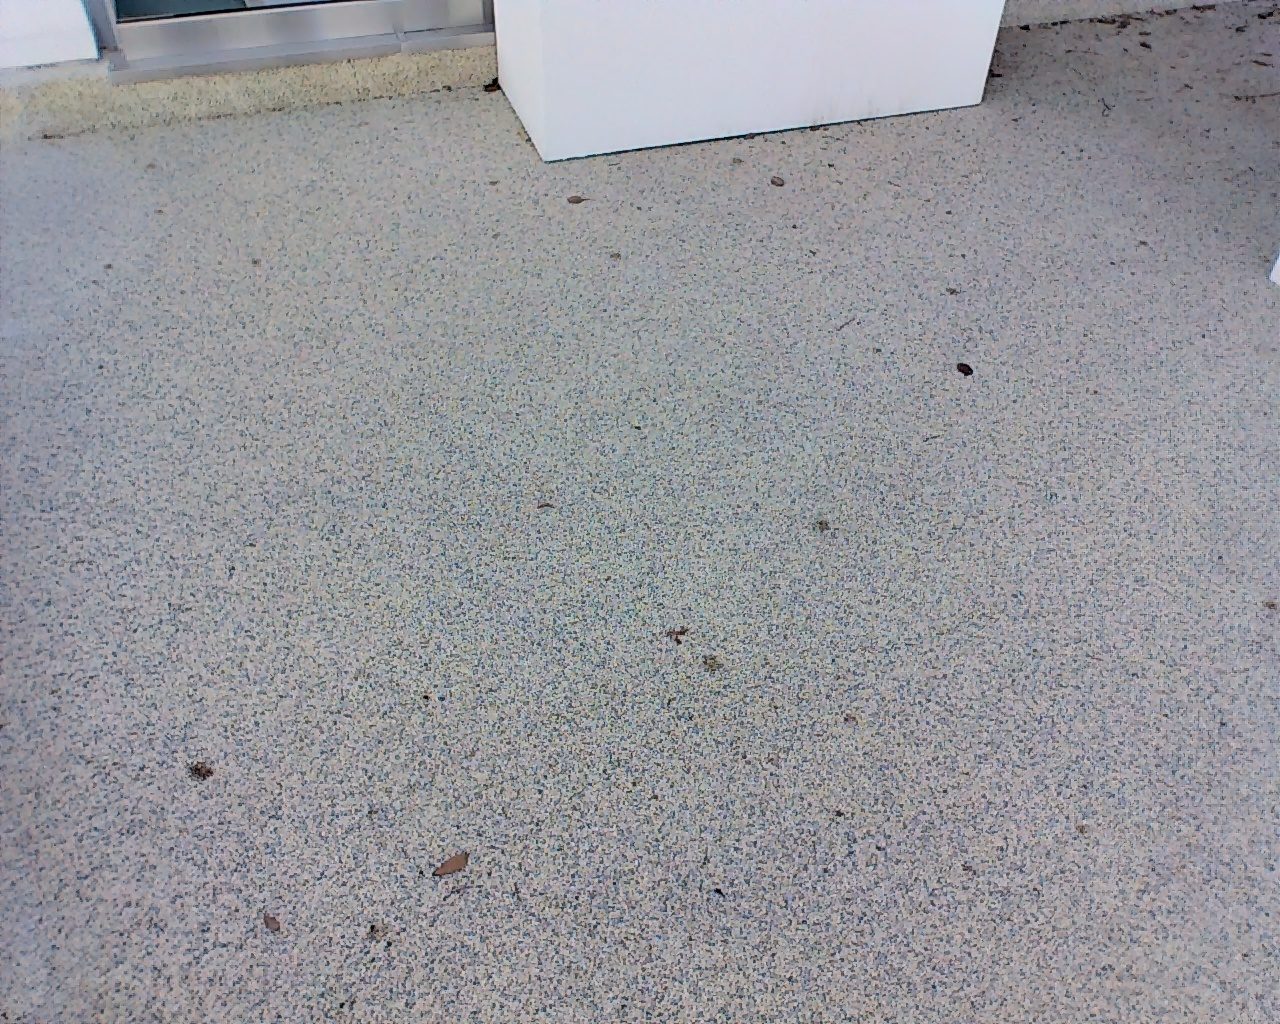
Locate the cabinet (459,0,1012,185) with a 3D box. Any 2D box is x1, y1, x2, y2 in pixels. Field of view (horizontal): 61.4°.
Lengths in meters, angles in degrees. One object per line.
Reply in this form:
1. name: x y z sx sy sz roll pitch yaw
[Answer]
1. cabinet: 0.290 -1.750 3.400 1.630 0.960 0.720 -12 45 -14
